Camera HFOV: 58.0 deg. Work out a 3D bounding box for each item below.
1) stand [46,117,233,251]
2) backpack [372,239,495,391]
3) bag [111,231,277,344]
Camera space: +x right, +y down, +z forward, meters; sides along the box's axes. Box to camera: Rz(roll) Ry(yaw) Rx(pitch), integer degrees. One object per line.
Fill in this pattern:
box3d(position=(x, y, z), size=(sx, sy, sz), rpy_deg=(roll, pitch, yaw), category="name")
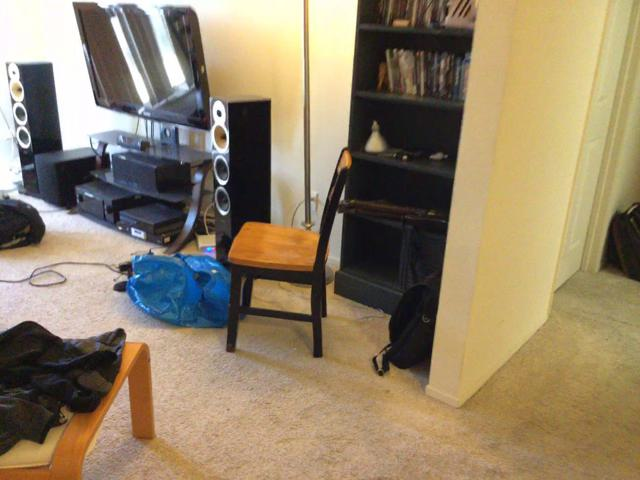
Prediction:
box3d(position=(-1.210, -0.420, 3.820), size=(1.210, 0.620, 0.510), rpy_deg=(16, 20, 31), category="stand")
box3d(position=(0.480, 0.290, 2.430), size=(0.300, 0.460, 0.430), rpy_deg=(16, 20, 31), category="backpack")
box3d(position=(-0.620, 0.200, 2.840), size=(0.620, 0.270, 0.510), rpy_deg=(17, 21, 35), category="bag")
